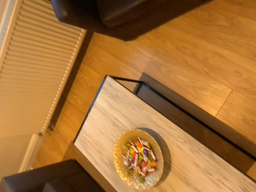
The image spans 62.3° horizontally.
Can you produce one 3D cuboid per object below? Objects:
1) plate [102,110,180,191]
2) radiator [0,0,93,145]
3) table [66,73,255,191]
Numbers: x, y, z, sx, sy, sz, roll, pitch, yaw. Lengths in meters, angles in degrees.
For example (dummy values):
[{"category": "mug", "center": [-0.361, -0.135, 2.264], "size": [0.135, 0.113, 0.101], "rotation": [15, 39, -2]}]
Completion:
[{"category": "plate", "center": [0.050, 0.290, 1.070], "size": [0.300, 0.050, 0.330], "rotation": [33, 106, 29]}, {"category": "radiator", "center": [-0.740, -0.120, 1.660], "size": [0.090, 0.640, 1.130], "rotation": [35, 107, 28]}, {"category": "table", "center": [0.190, 0.370, 1.240], "size": [0.990, 0.420, 0.550], "rotation": [37, 108, 28]}]
